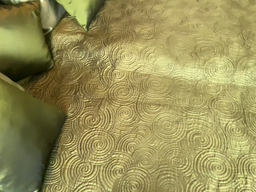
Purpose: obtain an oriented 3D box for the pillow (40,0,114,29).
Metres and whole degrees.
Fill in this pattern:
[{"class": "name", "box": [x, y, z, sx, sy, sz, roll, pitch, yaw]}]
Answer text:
[{"class": "pillow", "box": [-0.320, -0.650, 1.320, 0.220, 0.380, 0.440, -7, 17, 24]}]
